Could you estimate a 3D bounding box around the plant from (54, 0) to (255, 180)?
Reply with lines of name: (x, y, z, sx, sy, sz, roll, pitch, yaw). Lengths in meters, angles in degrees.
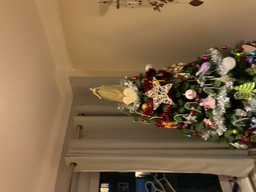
plant: (0.650, -0.090, 1.540, 1.010, 1.910, 0.920, -91, 2, -45)
